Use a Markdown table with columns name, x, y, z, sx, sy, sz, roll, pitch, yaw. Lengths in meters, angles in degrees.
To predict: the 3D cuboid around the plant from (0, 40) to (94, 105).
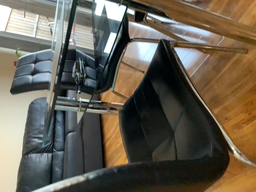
| name | x | y | z | sx | sy | sz | roll | pitch | yaw |
| --- | --- | --- | --- | --- | --- | --- | --- | --- | --- |
| plant | -1.330 | -0.330 | 3.400 | 0.600 | 1.400 | 0.560 | 123 | 146 | -45 |

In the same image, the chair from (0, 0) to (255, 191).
| name | x | y | z | sx | sy | sz | roll | pitch | yaw |
| --- | --- | --- | --- | --- | --- | --- | --- | --- | --- |
| chair | 0.060 | 0.170 | 0.640 | 0.420 | 0.960 | 0.640 | 120 | 148 | -41 |

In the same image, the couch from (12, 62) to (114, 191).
| name | x | y | z | sx | sy | sz | roll | pitch | yaw |
| --- | --- | --- | --- | --- | --- | --- | --- | --- | --- |
| couch | -0.840 | 0.660 | 2.670 | 0.930 | 0.910 | 1.950 | 122 | 147 | -44 |
